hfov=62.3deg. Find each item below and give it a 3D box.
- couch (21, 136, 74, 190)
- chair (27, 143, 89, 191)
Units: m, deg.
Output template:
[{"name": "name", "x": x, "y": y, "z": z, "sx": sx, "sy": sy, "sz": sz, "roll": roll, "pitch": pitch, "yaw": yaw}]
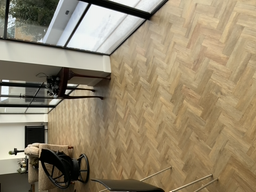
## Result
[{"name": "couch", "x": -2.010, "y": 1.550, "z": 5.120, "sx": 1.860, "sy": 0.810, "sz": 0.980, "roll": -23, "pitch": 68, "yaw": 55}, {"name": "chair", "x": -1.310, "y": 1.290, "z": 3.930, "sx": 0.710, "sy": 0.930, "sz": 0.710, "roll": -23, "pitch": 68, "yaw": 55}]
